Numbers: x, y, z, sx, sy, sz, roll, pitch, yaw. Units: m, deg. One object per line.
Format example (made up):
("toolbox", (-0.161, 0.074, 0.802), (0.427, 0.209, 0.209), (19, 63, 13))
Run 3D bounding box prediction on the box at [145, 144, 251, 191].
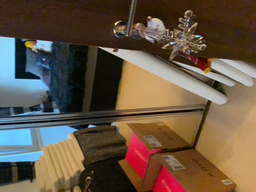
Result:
("box", (0.440, 0.690, 1.430), (0.550, 0.360, 0.430), (41, 126, 52))
